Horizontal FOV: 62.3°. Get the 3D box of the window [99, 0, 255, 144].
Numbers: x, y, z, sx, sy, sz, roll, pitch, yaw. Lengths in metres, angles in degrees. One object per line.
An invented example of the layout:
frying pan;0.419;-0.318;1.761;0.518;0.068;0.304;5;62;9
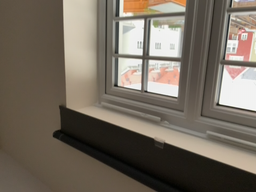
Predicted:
window;0.280;-0.430;0.810;1.030;1.120;0.070;13;-163;37
